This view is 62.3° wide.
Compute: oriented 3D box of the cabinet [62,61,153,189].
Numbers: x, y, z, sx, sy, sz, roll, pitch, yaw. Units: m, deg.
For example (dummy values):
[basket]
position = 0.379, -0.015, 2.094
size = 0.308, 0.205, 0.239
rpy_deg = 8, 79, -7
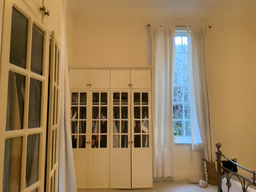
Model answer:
[cabinet]
position = -0.360, 0.500, 3.960
size = 1.540, 2.210, 0.490
rpy_deg = 0, -5, -1
